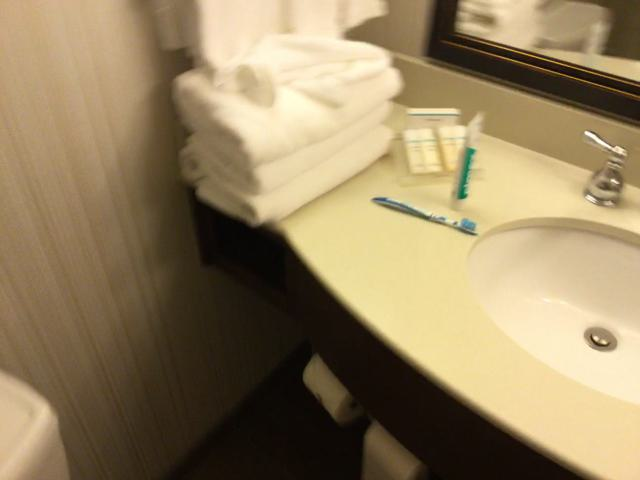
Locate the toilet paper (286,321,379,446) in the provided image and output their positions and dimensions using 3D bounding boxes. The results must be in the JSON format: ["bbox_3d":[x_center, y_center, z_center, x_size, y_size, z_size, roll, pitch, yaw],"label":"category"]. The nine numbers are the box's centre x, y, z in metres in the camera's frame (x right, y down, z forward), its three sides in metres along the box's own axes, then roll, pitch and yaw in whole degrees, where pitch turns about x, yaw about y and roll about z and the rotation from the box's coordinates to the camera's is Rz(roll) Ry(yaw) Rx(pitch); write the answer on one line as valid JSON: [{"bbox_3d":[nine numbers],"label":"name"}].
[{"bbox_3d":[0.020,0.270,1.090,0.150,0.170,0.080,27,45,28],"label":"toilet paper"}]

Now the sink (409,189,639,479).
[{"bbox_3d":[0.420,0.150,0.870,0.430,0.180,0.350,27,45,28],"label":"sink"}]
